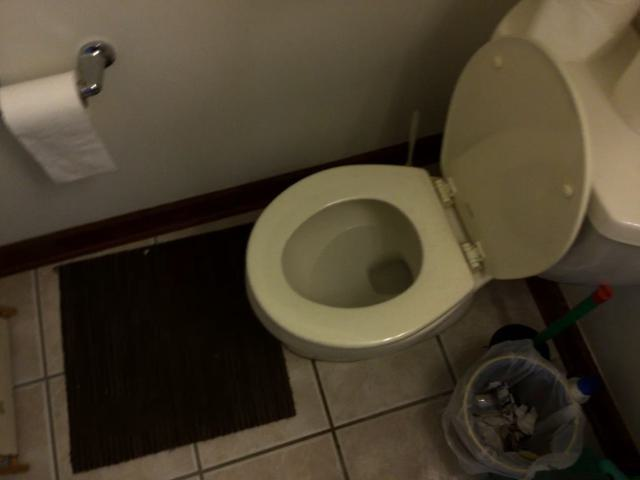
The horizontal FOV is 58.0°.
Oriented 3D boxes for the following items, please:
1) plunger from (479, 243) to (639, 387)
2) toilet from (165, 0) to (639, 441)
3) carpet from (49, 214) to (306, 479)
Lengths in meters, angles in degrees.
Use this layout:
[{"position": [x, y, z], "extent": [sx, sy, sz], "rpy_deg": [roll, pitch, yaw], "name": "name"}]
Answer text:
[{"position": [0.470, 0.170, 1.150], "extent": [0.160, 0.440, 0.120], "rpy_deg": [-15, 66, -7], "name": "plunger"}, {"position": [0.190, -0.020, 1.060], "extent": [0.680, 0.770, 0.490], "rpy_deg": [-15, 66, -7], "name": "toilet"}, {"position": [-0.350, 0.230, 1.370], "extent": [0.510, 0.040, 0.510], "rpy_deg": [-15, 66, -7], "name": "carpet"}]
